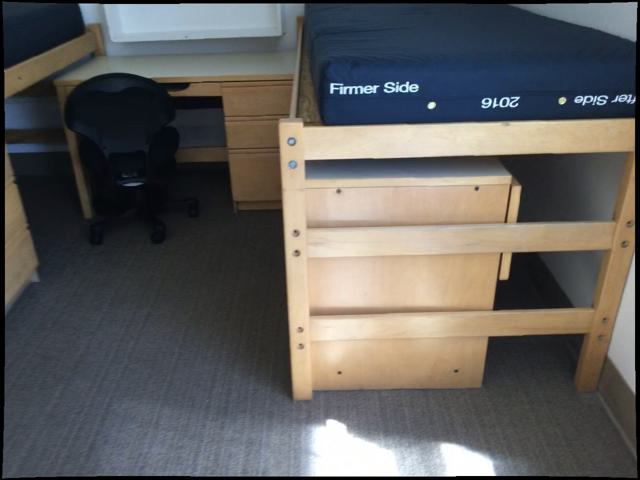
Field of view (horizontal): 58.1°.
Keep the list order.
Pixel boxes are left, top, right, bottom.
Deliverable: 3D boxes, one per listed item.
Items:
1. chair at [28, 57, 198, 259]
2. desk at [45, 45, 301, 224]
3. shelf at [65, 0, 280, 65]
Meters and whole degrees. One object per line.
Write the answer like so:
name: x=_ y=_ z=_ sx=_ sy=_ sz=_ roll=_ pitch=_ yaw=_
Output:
chair: x=-0.987 y=-0.421 z=2.930 sx=0.529 sy=0.862 sz=0.520 roll=-3 pitch=29 yaw=0
desk: x=-0.738 y=-0.632 z=3.320 sx=1.207 sy=0.762 sz=0.720 roll=-3 pitch=29 yaw=0
shelf: x=-0.838 y=-1.634 z=3.120 sx=1.137 sy=1.232 sz=0.240 roll=-3 pitch=28 yaw=0
